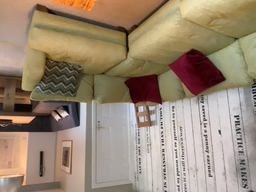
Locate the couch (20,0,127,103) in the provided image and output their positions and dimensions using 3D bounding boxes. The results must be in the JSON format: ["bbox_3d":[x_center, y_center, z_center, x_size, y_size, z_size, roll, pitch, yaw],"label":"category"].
[{"bbox_3d":[-0.680,-0.380,2.460,0.920,0.730,1.040,5,168,-29],"label":"couch"}]

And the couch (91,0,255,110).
[{"bbox_3d":[0.650,-0.430,2.240,1.170,0.790,2.770,5,168,-29],"label":"couch"}]
